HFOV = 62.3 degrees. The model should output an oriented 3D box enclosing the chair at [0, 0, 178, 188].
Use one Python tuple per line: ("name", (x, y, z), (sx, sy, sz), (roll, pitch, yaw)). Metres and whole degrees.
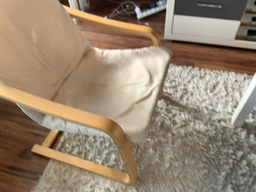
("chair", (-0.240, -0.180, 0.910), (0.760, 0.980, 0.610), (13, 52, 14))
